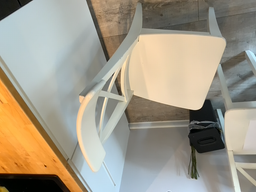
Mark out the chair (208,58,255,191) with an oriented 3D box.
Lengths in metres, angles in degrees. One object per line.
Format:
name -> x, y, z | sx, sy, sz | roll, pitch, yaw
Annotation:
chair -> 0.800, 0.250, 1.260 | 0.480, 0.900, 0.550 | -6, 128, 15

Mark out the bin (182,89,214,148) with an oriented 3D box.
bin -> 0.540, 0.170, 1.660 | 0.190, 0.360, 0.270 | -5, 129, 15

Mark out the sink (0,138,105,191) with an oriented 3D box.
sink -> -0.480, 0.520, 1.230 | 0.540, 0.200, 0.590 | -5, 129, 14
